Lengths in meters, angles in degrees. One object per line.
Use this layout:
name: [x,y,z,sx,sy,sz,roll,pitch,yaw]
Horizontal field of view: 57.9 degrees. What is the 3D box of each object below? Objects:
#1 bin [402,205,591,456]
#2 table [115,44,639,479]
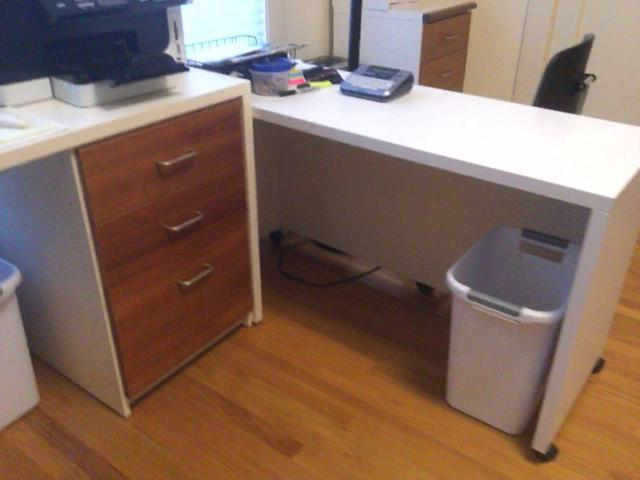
bin: [0.430,0.200,1.420,0.270,0.410,0.380,20,33,28]
table: [0.160,-0.050,1.590,1.210,0.690,0.700,21,33,29]
